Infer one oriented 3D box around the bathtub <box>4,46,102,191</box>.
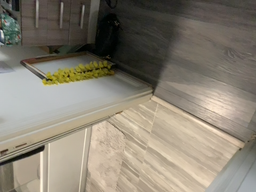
[{"bbox_3d":[-0.810,0.430,2.240,0.710,0.540,1.720,28,120,34],"label":"bathtub"}]
